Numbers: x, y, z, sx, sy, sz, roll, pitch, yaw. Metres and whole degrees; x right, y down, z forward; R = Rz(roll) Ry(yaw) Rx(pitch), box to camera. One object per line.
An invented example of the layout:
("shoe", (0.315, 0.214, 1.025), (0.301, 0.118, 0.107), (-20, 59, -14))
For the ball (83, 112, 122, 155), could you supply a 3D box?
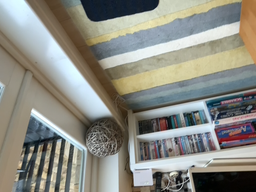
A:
("ball", (-0.190, 0.300, 1.660), (0.220, 0.220, 0.240), (-11, 144, 11))
